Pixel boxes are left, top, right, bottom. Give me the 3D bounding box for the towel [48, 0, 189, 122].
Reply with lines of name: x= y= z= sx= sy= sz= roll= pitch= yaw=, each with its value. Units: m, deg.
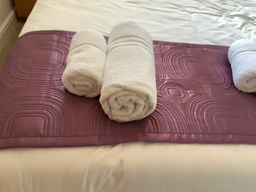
towel: x=-0.030 y=-0.120 z=0.590 sx=0.280 sy=0.110 sz=0.380 roll=3 pitch=46 yaw=-8
